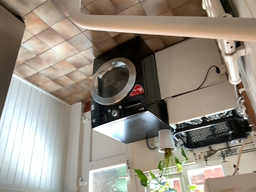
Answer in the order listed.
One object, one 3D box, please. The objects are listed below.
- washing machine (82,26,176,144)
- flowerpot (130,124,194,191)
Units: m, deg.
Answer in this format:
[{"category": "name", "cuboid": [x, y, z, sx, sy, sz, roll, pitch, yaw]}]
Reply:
[{"category": "washing machine", "cuboid": [0.020, -0.060, 2.220, 0.590, 0.850, 0.770, -19, 147, 24]}, {"category": "flowerpot", "cuboid": [0.300, 0.590, 1.890, 0.350, 0.490, 0.430, -20, 146, 26]}]
